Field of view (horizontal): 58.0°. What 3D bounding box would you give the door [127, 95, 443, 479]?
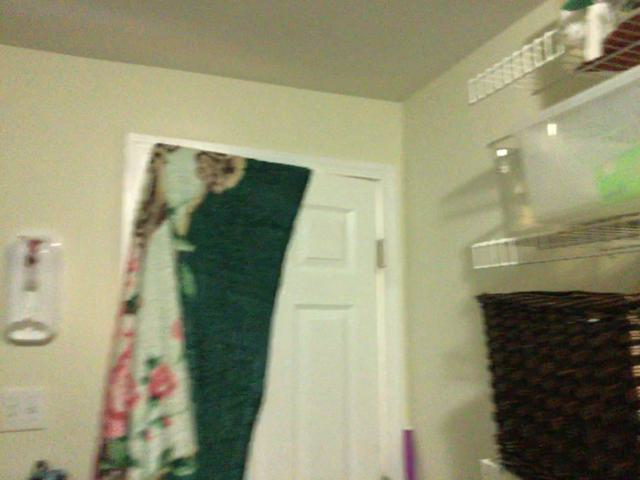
[{"bbox_3d":[-0.080,0.710,1.630,0.880,2.150,0.180,2,-7,-21],"label":"door"}]
